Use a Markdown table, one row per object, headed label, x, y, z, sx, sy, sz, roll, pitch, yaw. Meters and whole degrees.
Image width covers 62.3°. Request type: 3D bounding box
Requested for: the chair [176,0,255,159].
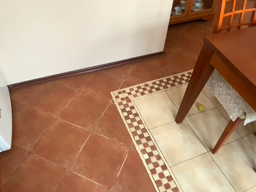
| label | x | y | z | sx | sy | sz | roll | pitch | yaw |
| --- | --- | --- | --- | --- | --- | --- | --- | --- | --- |
| chair | 0.690 | -0.110 | 1.300 | 0.400 | 0.950 | 0.500 | -16 | 51 | -16 |
